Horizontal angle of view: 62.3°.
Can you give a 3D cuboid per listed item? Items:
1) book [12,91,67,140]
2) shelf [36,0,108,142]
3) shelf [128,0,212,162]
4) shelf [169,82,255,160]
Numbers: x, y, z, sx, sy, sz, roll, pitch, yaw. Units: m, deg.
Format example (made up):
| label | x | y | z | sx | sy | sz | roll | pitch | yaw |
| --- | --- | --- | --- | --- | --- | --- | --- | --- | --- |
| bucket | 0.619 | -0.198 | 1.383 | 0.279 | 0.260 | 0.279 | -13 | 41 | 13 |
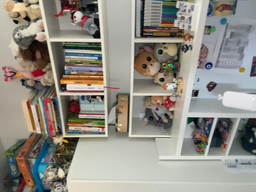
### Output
| label | x | y | z | sx | sy | sz | roll | pitch | yaw |
| --- | --- | --- | --- | --- | --- | --- | --- | --- | --- |
| book | -0.580 | 0.130 | 1.440 | 0.210 | 0.250 | 0.250 | -91 | 2 | -57 |
| shelf | -0.290 | -0.190 | 1.270 | 0.220 | 0.310 | 1.010 | -91 | 2 | -61 |
| shelf | 0.170 | -0.150 | 1.200 | 0.390 | 0.310 | 1.040 | -91 | 2 | -61 |
| shelf | 0.570 | 0.150 | 1.380 | 0.370 | 0.500 | 0.350 | -91 | 2 | -61 |
